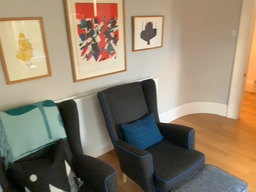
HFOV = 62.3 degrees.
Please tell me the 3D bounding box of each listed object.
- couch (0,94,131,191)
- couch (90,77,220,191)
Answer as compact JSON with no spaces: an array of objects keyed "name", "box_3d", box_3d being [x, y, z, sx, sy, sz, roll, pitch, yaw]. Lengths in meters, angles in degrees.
[{"name":"couch","box_3d":[-0.530,0.630,1.540,0.680,0.980,0.900,-17,25,-36]},{"name":"couch","box_3d":[0.220,0.420,2.110,0.690,0.940,0.980,-17,25,-36]}]
